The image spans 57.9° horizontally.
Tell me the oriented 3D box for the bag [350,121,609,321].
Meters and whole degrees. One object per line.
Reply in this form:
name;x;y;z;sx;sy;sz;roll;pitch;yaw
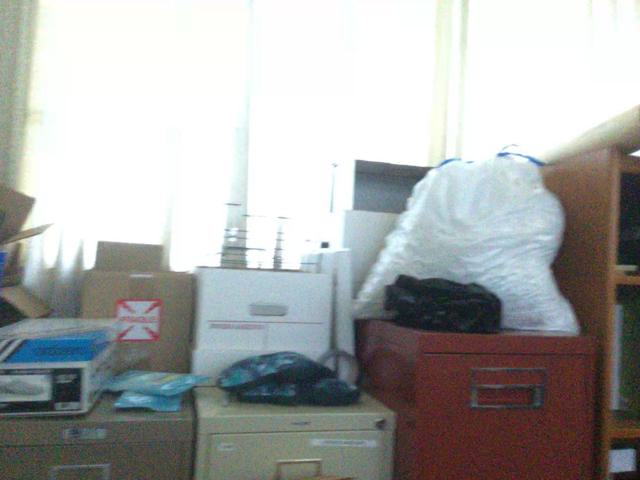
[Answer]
bag;0.340;-0.020;1.310;0.450;0.370;0.340;3;-4;-15
